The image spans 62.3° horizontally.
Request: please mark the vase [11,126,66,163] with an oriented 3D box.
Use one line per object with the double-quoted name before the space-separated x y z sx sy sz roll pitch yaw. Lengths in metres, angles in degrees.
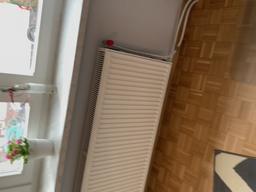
"vase" -0.590 0.310 1.400 0.150 0.290 0.170 19 102 50
